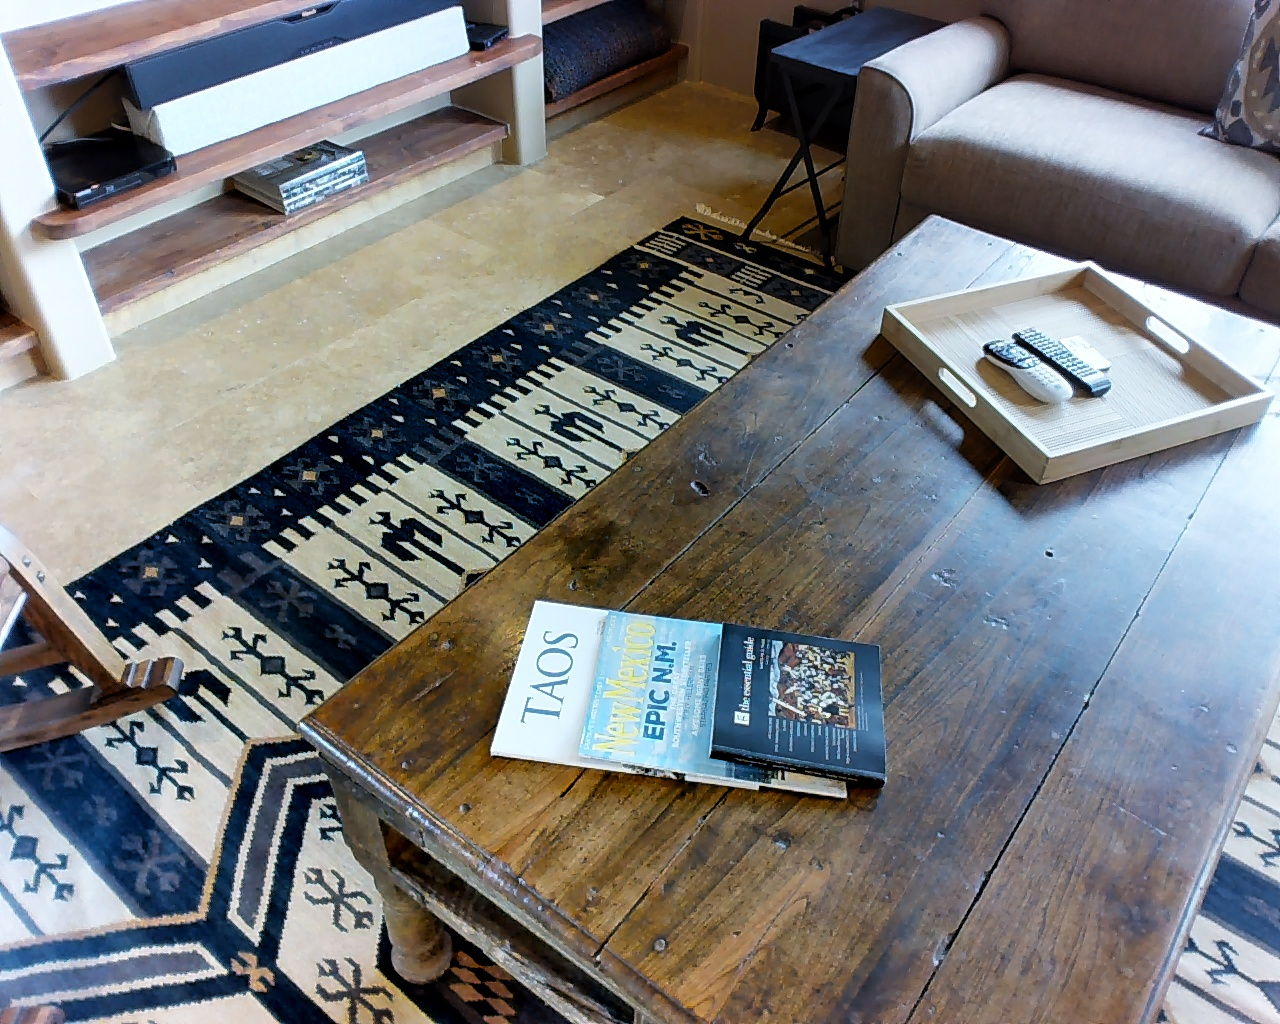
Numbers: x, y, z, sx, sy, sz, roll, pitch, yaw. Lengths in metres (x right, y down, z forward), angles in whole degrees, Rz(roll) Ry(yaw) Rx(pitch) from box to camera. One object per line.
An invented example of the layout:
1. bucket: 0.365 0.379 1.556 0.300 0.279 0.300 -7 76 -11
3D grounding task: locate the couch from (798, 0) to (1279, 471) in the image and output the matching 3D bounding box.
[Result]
1. couch: 1.540 -0.790 2.450 1.990 0.900 1.040 28 48 27
